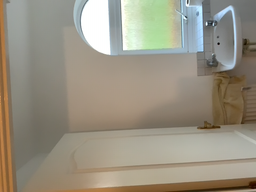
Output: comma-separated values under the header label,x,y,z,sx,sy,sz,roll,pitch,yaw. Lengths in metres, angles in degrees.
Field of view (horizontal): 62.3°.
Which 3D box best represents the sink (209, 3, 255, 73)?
label,x,y,z,sx,sy,sz,roll,pitch,yaw
sink,0.780,-0.420,1.620,0.290,0.190,0.450,-153,60,-86
